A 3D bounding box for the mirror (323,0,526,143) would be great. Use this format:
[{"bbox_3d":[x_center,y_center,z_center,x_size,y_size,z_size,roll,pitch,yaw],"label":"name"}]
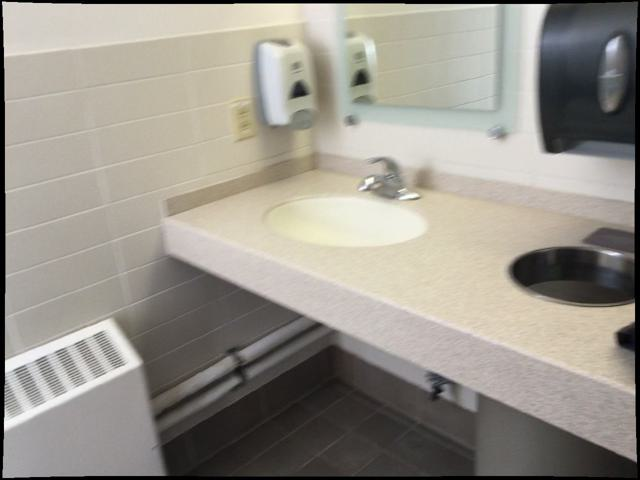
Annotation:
[{"bbox_3d":[0.250,-0.591,1.560,0.070,0.590,0.620,-25,28,-36],"label":"mirror"}]
